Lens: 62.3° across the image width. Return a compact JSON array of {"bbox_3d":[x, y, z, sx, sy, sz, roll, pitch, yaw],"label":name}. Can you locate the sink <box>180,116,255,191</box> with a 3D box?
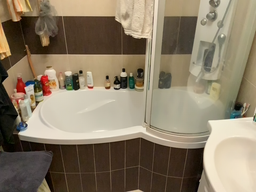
[{"bbox_3d":[0.580,0.410,0.920,0.500,0.170,0.870,1,29,-1],"label":"sink"}]
